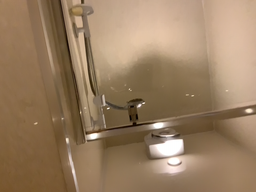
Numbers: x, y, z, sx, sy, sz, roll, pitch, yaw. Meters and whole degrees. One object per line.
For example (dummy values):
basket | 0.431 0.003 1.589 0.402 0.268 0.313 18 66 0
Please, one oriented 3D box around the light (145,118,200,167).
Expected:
light | 0.280 0.300 1.460 0.260 0.400 0.140 -13 99 0
